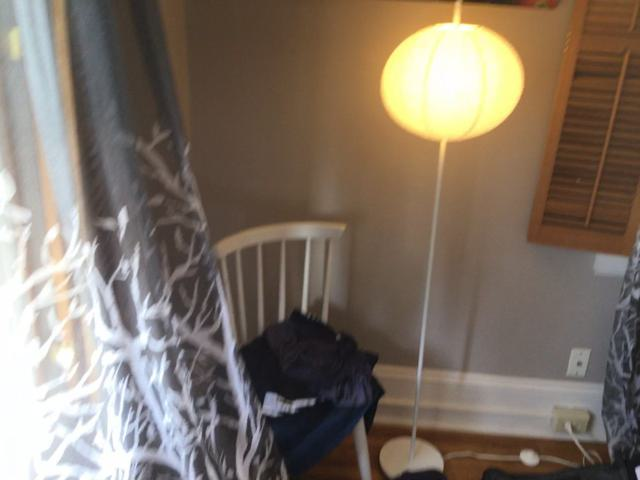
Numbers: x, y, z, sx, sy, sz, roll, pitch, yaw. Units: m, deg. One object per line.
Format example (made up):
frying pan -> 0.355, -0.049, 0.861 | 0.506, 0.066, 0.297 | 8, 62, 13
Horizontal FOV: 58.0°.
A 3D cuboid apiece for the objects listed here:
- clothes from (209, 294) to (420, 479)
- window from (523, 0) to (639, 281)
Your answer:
clothes -> -0.040, 0.460, 1.730 | 0.450, 0.350, 0.480 | -9, 24, -23
window -> 0.850, -0.510, 1.560 | 0.370, 1.290, 0.140 | 4, 22, 7
